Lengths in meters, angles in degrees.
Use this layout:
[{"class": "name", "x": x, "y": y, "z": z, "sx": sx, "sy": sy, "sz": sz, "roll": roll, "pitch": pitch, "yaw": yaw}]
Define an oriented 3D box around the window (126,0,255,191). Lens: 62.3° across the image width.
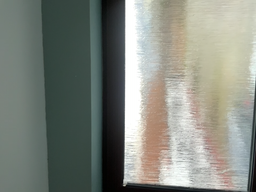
[{"class": "window", "x": 0.300, "y": 0.000, "z": 1.030, "sx": 0.040, "sy": 0.610, "sz": 0.960, "roll": -40, "pitch": -49, "yaw": -81}]
